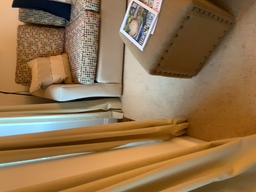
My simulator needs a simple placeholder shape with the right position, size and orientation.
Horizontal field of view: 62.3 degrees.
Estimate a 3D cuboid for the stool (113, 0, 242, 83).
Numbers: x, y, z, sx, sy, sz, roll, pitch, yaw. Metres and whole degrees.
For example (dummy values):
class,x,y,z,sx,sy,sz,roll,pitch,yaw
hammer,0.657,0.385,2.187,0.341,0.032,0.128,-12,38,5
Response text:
class,x,y,z,sx,sy,sz,roll,pitch,yaw
stool,0.280,-0.430,1.370,0.470,0.460,0.480,57,131,36
